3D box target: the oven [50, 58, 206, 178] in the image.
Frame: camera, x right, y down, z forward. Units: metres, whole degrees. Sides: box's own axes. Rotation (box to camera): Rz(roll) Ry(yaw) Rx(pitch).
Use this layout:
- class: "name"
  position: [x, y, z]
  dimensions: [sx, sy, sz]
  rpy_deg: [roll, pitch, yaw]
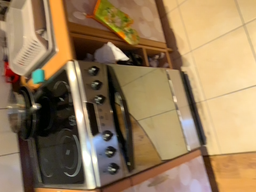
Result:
- class: "oven"
  position: [-0.010, 0.150, 1.340]
  dimensions: [0.610, 0.650, 0.510]
  rpy_deg: [-24, 75, 44]
